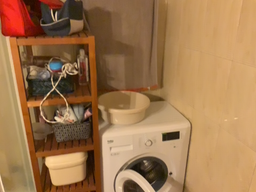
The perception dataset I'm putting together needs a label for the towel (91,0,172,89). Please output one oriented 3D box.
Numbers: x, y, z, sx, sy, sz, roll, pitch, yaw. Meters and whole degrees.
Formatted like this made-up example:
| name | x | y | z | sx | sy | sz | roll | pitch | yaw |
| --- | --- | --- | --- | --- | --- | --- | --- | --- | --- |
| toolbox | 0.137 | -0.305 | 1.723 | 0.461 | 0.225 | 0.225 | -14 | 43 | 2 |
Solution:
| name | x | y | z | sx | sy | sz | roll | pitch | yaw |
| --- | --- | --- | --- | --- | --- | --- | --- | --- | --- |
| towel | 0.020 | -0.380 | 1.510 | 0.520 | 0.610 | 0.140 | -6 | 23 | -16 |
